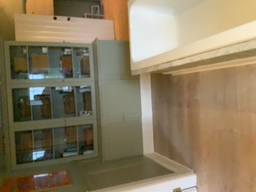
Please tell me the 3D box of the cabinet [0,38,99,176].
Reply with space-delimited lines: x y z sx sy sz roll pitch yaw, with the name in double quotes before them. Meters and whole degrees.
"cabinet" -1.150 0.110 3.180 0.400 1.250 1.800 180 86 -68
